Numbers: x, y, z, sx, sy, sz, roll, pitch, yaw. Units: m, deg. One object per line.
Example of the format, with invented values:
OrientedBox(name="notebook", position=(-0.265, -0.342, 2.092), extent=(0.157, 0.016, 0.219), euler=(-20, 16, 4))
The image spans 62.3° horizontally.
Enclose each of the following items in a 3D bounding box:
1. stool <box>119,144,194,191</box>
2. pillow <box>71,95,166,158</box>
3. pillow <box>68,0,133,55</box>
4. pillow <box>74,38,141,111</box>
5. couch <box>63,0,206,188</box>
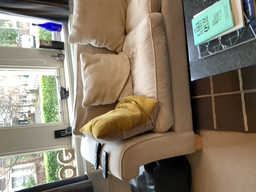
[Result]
OrientedBox(name="stool", position=(0.220, 0.710, 1.800), extent=(0.550, 0.370, 0.480), euler=(-8, 84, 62))
OrientedBox(name="pillow", position=(-0.080, 0.190, 1.520), extent=(0.460, 0.470, 0.230), euler=(-7, 102, 56))
OrientedBox(name="pillow", position=(-0.240, -0.670, 1.890), extent=(0.210, 0.430, 0.510), euler=(-2, 103, 57))
OrientedBox(name="pillow", position=(-0.160, -0.190, 1.830), extent=(0.140, 0.420, 0.500), euler=(-6, 108, 54))
OrientedBox(name="couch", position=(-0.060, -0.540, 1.860), extent=(0.960, 0.770, 2.190), euler=(-11, 81, 62))
